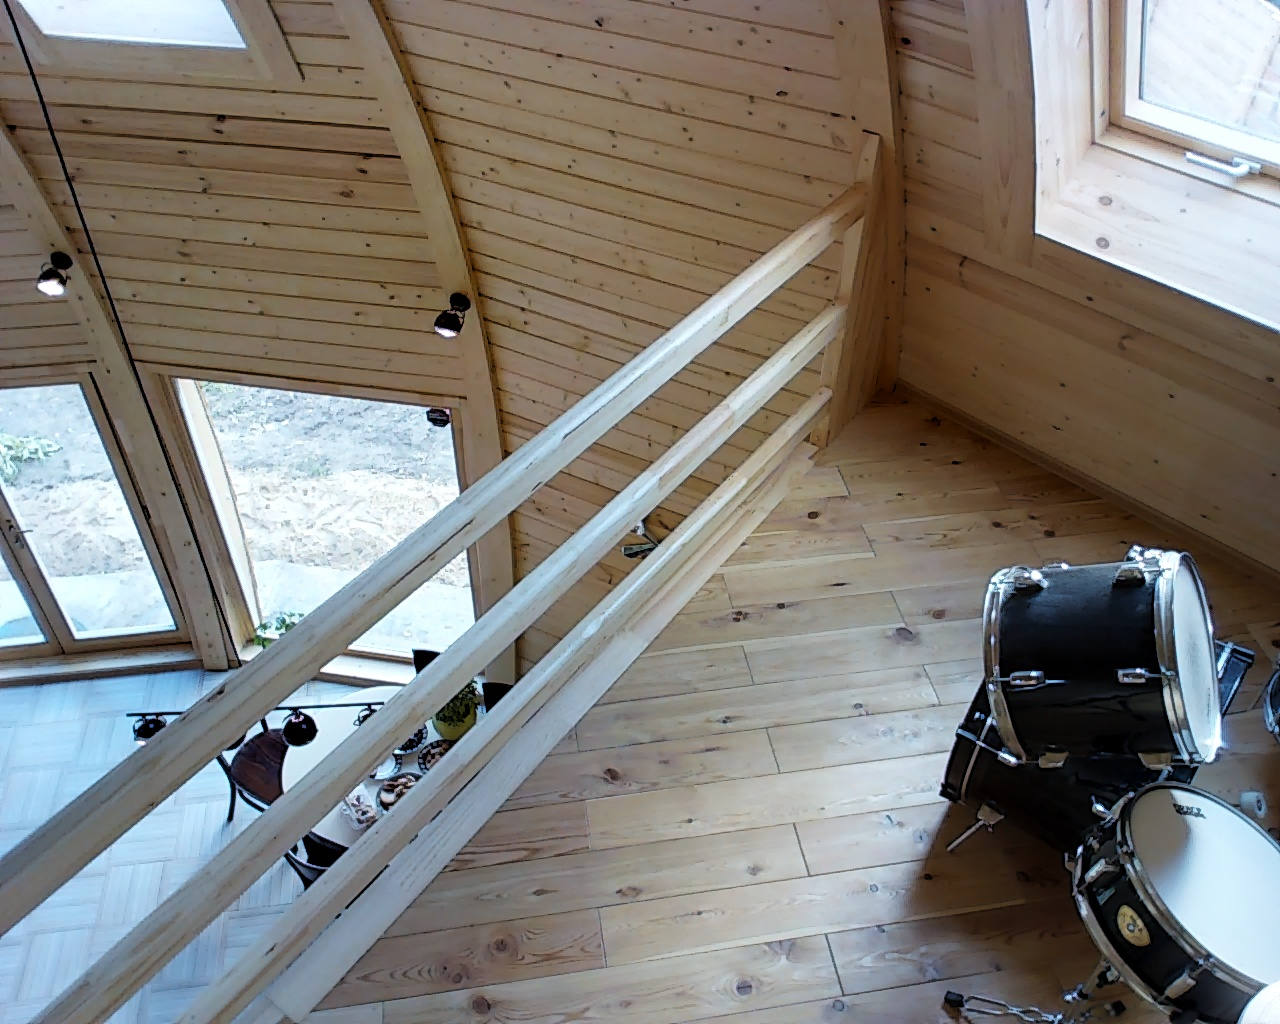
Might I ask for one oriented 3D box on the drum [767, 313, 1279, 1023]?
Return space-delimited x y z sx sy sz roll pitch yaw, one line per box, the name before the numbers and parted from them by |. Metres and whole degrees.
drum | 0.970 0.430 2.120 0.870 1.030 1.090 29 49 26
